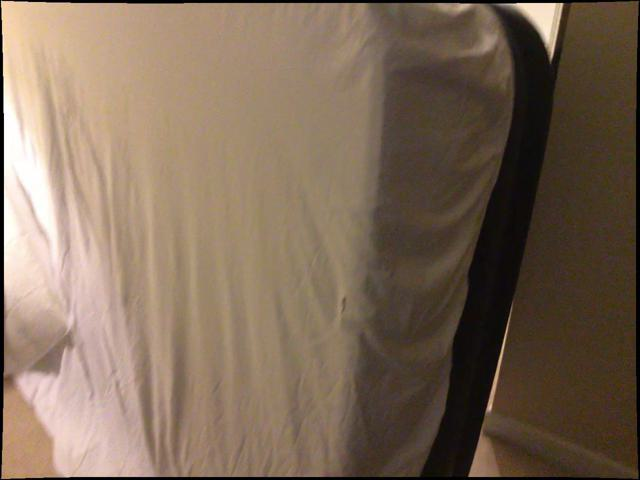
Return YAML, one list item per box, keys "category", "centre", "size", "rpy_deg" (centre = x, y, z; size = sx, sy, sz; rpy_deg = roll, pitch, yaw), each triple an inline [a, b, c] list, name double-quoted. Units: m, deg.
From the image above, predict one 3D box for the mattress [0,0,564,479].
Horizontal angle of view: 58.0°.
- category: "mattress"
  centre: [-0.479, -0.090, 1.740]
  size: [0.509, 1.523, 1.988]
  rpy_deg: [-23, 36, -39]
